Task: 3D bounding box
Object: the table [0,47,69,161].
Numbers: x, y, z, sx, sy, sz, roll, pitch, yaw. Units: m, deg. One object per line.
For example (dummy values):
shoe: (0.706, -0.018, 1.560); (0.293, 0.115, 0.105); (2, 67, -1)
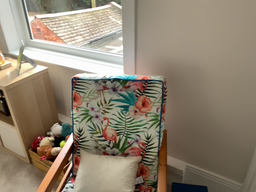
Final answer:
table: (-1.080, 0.030, 1.990); (0.800, 0.750, 0.490); (16, 34, 26)
